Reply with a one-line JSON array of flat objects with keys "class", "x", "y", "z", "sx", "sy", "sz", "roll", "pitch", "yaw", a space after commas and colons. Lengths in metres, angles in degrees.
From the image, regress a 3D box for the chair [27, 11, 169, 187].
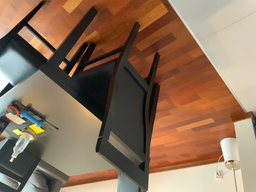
[{"class": "chair", "x": -0.100, "y": -0.020, "z": 1.350, "sx": 0.480, "sy": 0.990, "sz": 0.410, "roll": -26, "pitch": 124, "yaw": 37}]
